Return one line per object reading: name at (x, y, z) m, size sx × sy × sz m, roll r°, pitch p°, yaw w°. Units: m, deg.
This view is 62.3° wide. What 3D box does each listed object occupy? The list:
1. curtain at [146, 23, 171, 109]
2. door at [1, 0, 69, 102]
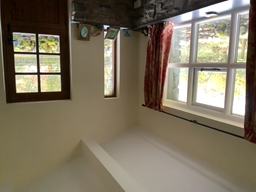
curtain at (0.430, -0.420, 3.080) m, size 0.140 × 1.180 × 0.320 m, roll -3°, pitch -170°, yaw -27°
door at (-1.310, -0.970, 3.050) m, size 0.840 × 2.080 × 0.100 m, roll -2°, pitch -171°, yaw -25°
